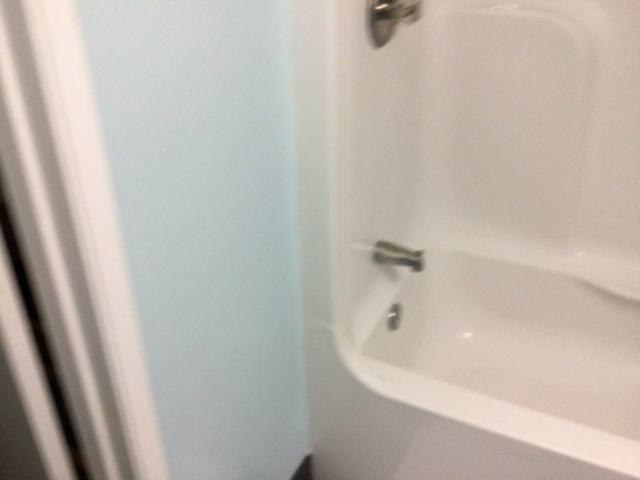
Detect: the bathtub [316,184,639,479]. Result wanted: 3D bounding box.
[{"bbox_3d":[0.790,0.380,1.480,1.370,0.550,0.810,13,33,24],"label":"bathtub"}]
